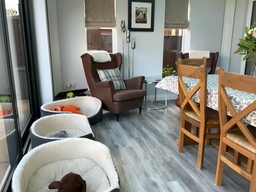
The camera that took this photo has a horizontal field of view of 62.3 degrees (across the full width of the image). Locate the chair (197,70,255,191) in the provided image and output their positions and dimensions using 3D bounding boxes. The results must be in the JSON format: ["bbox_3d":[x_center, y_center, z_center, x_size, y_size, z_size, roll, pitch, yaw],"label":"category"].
[{"bbox_3d":[0.920,0.310,1.570,0.540,0.930,0.460,-6,15,-26],"label":"chair"}]

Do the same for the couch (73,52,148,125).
[{"bbox_3d":[-0.290,-0.200,3.470,0.760,0.960,0.930,-13,19,-43],"label":"couch"}]

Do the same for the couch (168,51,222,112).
[{"bbox_3d":[1.250,-0.340,4.070,0.800,0.990,0.960,5,14,16],"label":"couch"}]

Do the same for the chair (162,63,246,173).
[{"bbox_3d":[0.710,0.170,2.110,0.540,0.940,0.450,-5,15,-21],"label":"chair"}]
